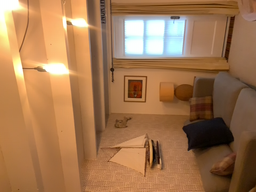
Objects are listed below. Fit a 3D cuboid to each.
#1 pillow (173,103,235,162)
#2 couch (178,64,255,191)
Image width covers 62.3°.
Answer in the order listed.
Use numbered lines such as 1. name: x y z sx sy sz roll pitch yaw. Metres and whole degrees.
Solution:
1. pillow: 0.980 0.470 2.830 0.350 0.560 0.540 57 -167 -16
2. couch: 1.250 0.330 2.770 1.890 0.770 1.070 -81 -8 -69
